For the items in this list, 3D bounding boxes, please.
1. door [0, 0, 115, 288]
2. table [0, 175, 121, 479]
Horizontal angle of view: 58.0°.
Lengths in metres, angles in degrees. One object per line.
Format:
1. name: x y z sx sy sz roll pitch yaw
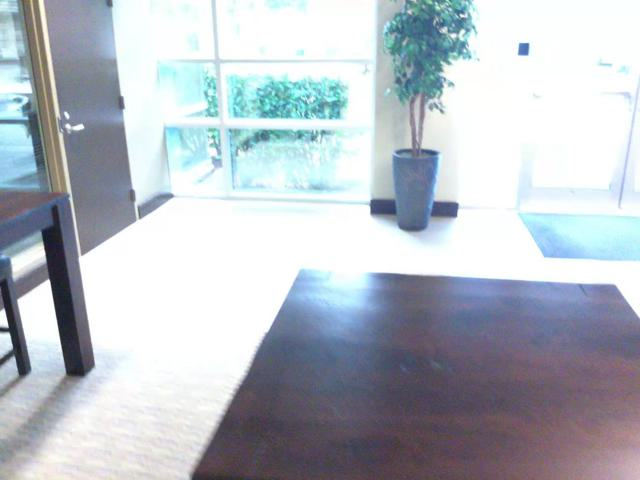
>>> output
1. door: -1.790 -0.840 3.530 0.330 2.010 1.010 2 20 9
2. table: -1.590 0.310 2.410 0.980 0.950 1.000 2 20 9
